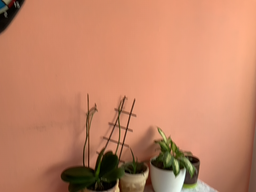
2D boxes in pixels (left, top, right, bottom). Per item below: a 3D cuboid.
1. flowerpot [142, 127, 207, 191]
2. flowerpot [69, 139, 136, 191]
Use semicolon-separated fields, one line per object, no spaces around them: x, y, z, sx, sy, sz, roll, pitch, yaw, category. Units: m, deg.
0.280;0.410;1.290;0.340;0.370;0.160;-4;10;-28;flowerpot
-0.140;0.440;1.100;0.270;0.330;0.250;-3;10;-26;flowerpot
